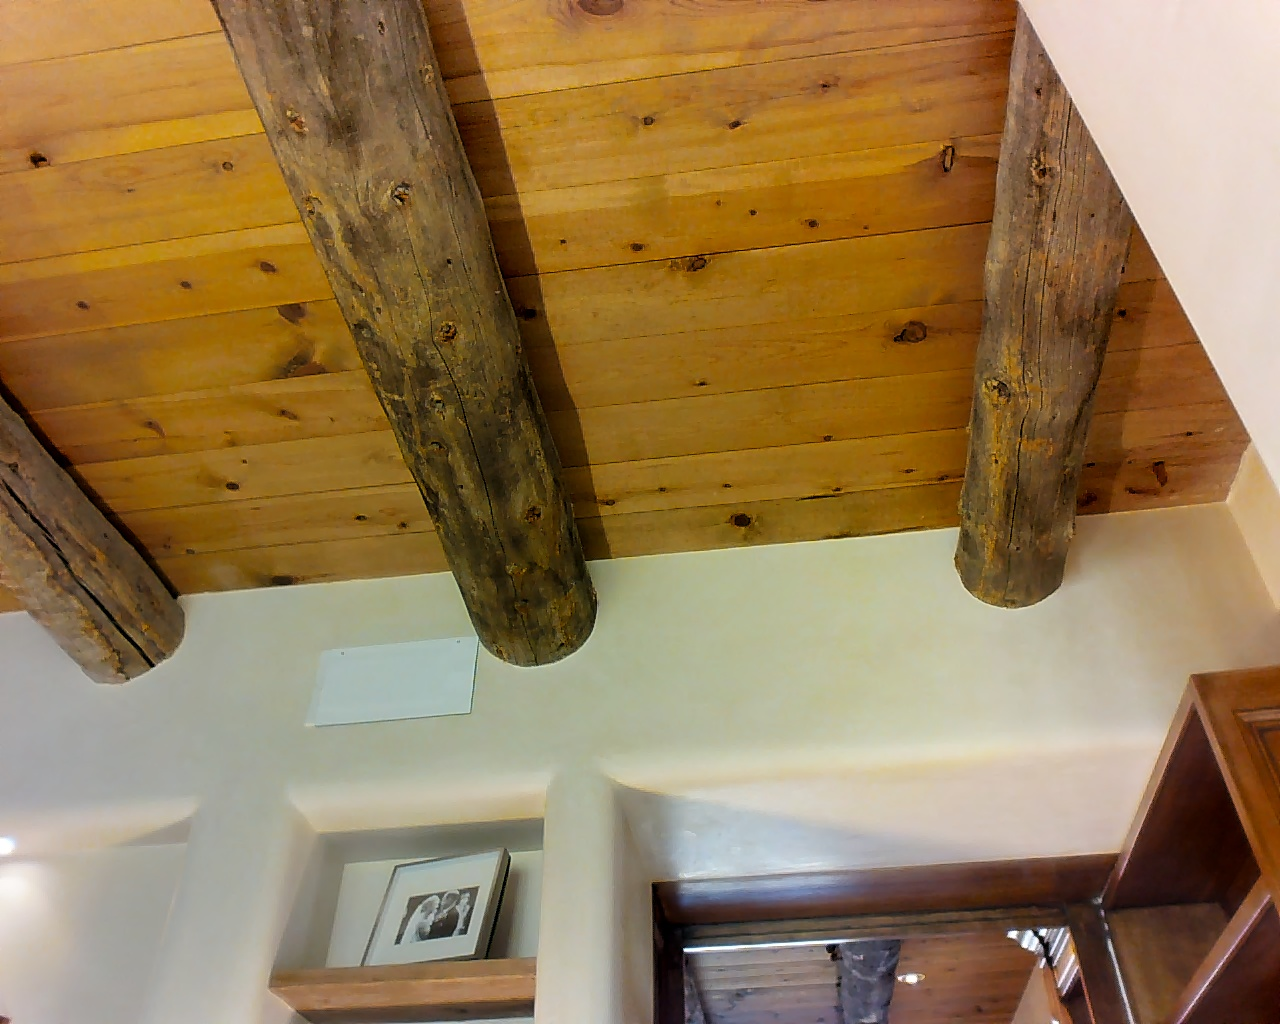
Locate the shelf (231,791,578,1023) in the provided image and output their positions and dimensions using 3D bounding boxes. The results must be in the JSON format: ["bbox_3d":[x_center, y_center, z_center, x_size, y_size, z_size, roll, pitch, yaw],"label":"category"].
[{"bbox_3d":[-0.440,1.271,1.850,0.580,1.500,0.330,-5,-41,5],"label":"shelf"}]
